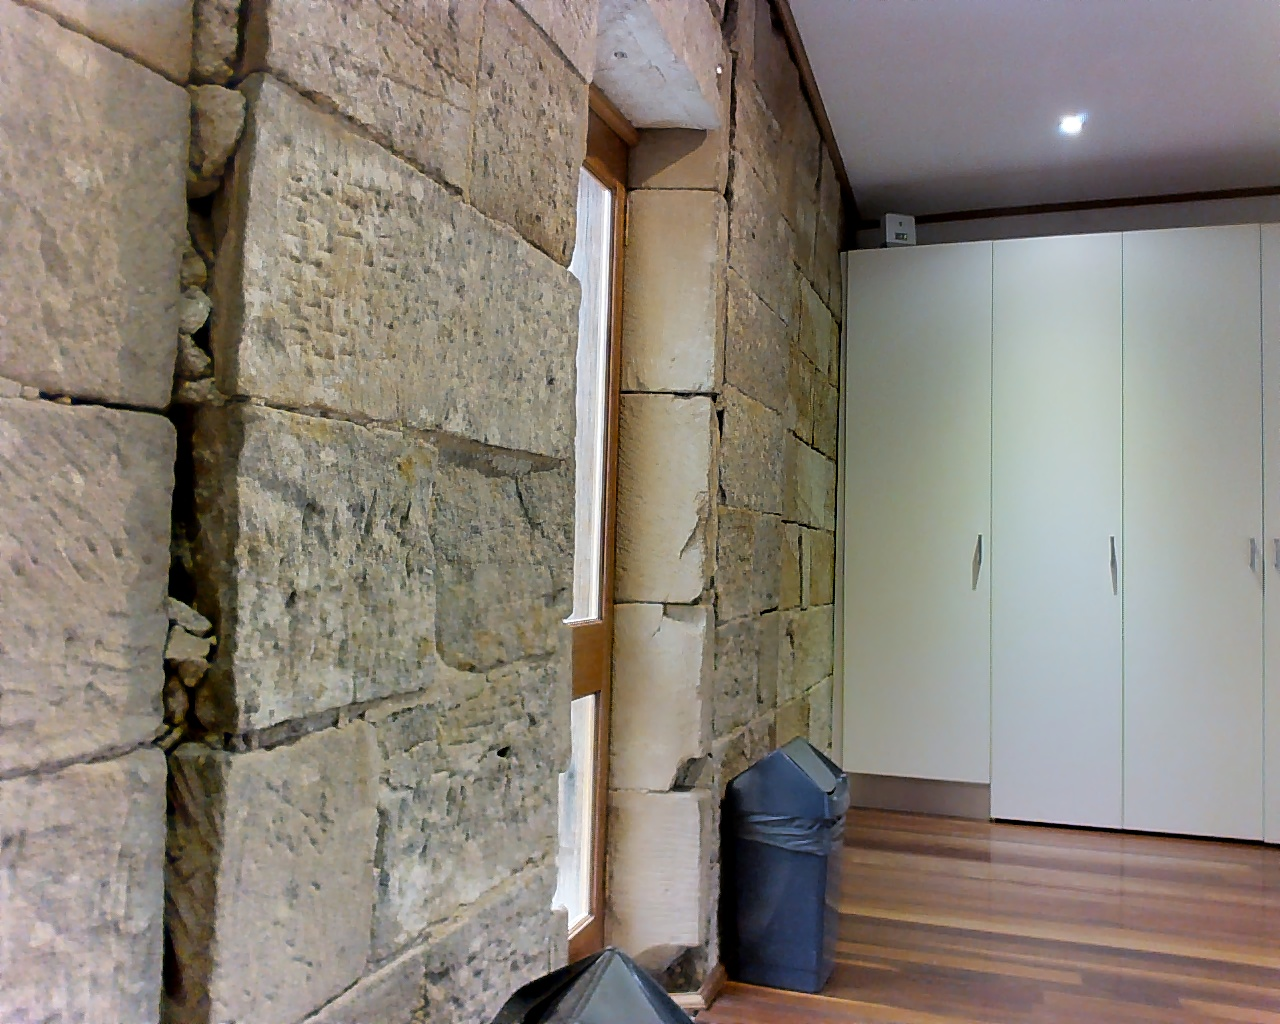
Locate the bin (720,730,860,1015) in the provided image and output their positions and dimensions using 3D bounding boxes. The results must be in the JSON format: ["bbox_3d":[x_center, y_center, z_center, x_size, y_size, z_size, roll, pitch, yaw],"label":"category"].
[{"bbox_3d":[0.400,0.920,2.830,0.300,0.630,0.270,0,-2,22],"label":"bin"}]
